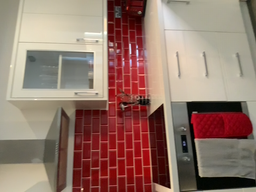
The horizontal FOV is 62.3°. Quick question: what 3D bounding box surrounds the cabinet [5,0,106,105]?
[{"bbox_3d":[-0.620,-0.470,2.050,0.300,0.800,1.070,114,156,-70],"label":"cabinet"}]
